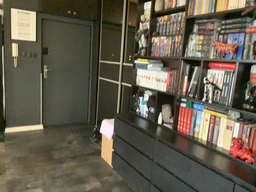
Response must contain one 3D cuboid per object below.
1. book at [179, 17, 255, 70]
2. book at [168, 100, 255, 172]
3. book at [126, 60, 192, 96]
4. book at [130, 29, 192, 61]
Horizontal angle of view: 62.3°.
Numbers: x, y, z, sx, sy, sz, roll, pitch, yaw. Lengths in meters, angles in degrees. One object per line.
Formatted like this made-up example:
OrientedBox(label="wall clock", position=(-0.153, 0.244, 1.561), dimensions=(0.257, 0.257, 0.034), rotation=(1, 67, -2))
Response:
OrientedBox(label="book", position=(0.810, -0.420, 1.760), dimensions=(0.200, 0.360, 0.790), rotation=(-2, 12, -33))
OrientedBox(label="book", position=(0.750, 0.290, 1.890), dimensions=(0.250, 0.340, 0.850), rotation=(-2, 12, -31))
OrientedBox(label="book", position=(0.330, -0.240, 2.550), dimensions=(0.320, 0.320, 0.790), rotation=(-2, 12, -33))
OrientedBox(label="book", position=(0.330, -0.570, 2.410), dimensions=(0.180, 0.290, 0.800), rotation=(-2, 12, -33))
